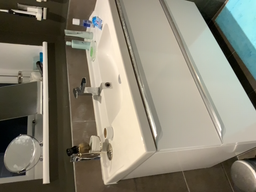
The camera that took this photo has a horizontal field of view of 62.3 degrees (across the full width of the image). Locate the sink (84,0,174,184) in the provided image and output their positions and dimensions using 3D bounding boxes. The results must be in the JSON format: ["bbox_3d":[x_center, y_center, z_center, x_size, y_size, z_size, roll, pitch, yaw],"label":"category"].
[{"bbox_3d":[-0.080,-0.120,1.130,0.470,0.130,1.010,122,142,-50],"label":"sink"}]
